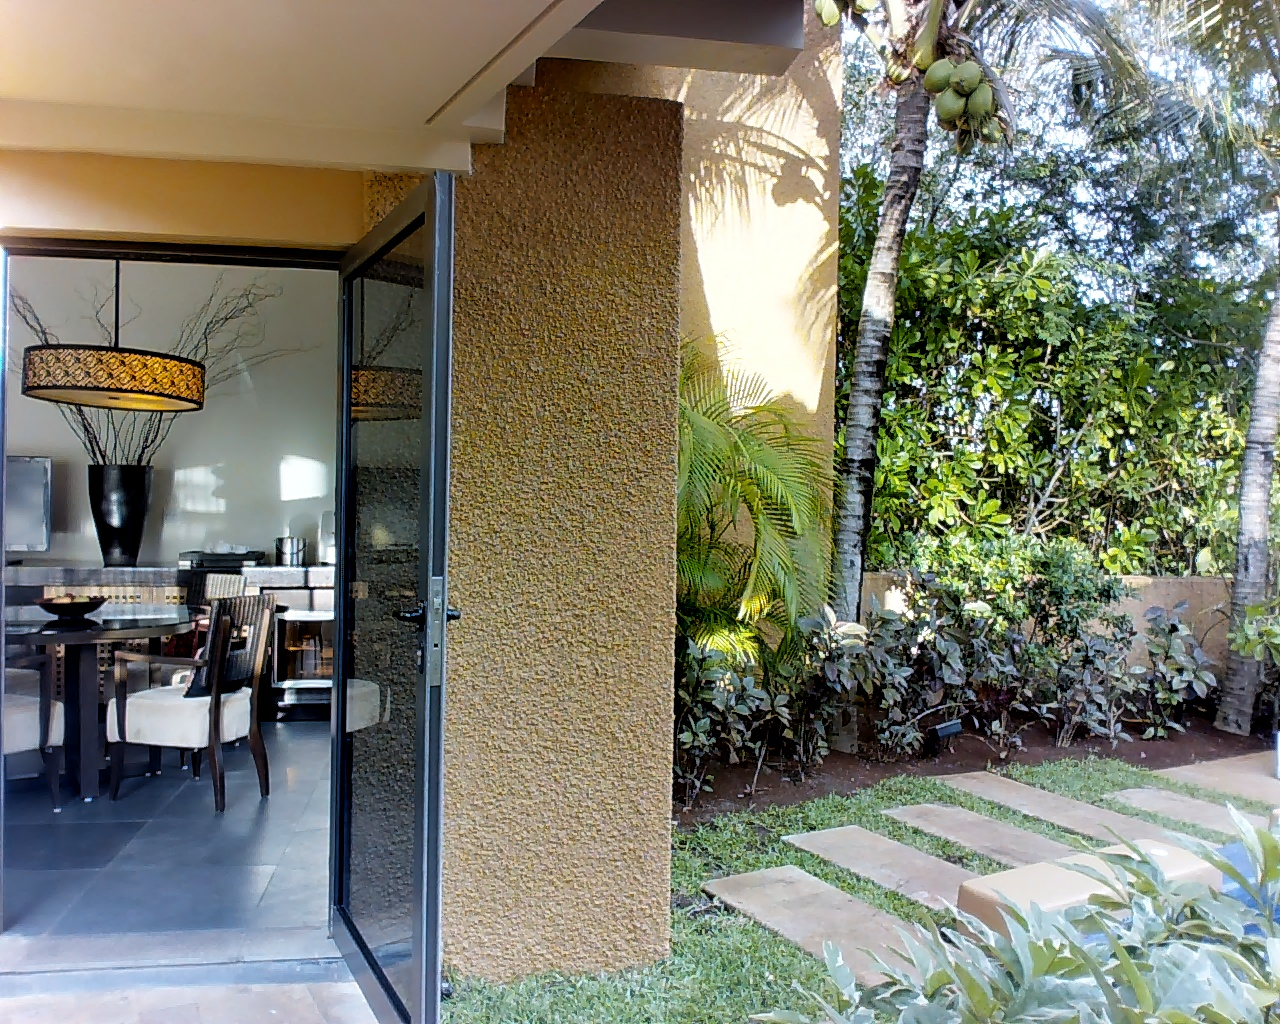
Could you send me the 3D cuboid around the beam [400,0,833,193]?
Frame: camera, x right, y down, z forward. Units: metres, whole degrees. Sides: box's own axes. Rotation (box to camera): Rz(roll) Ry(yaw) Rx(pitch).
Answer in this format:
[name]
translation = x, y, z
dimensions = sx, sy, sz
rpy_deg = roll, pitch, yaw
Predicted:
[beam]
translation = -0.080, -1.491, 3.500
dimensions = 1.340, 0.710, 0.370
rpy_deg = 1, 1, -10
